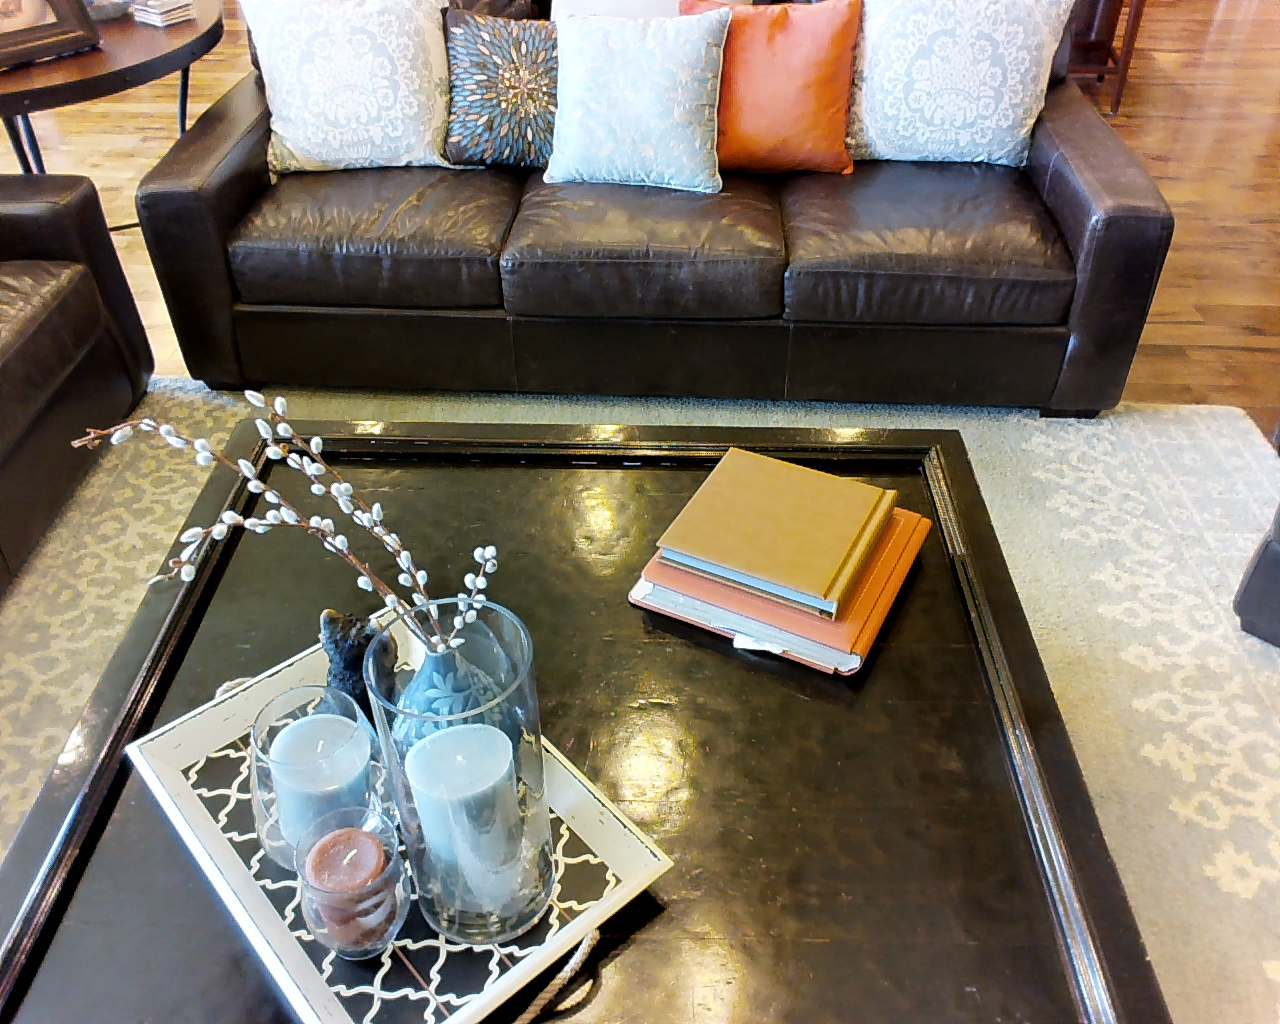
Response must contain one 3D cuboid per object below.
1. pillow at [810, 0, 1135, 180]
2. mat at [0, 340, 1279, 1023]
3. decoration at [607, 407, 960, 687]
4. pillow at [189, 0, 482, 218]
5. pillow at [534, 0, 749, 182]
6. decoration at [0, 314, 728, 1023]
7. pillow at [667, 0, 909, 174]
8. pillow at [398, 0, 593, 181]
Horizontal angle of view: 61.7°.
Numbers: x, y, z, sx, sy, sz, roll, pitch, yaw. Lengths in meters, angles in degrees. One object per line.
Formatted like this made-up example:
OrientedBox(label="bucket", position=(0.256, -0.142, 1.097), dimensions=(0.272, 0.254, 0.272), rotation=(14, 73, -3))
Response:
OrientedBox(label="pillow", position=(0.820, -1.210, 2.720), dimensions=(0.630, 0.520, 0.340), rotation=(8, 39, -4))
OrientedBox(label="mat", position=(0.010, 0.400, 1.820), dimensions=(3.150, 0.070, 2.450), rotation=(1, 40, 2))
OrientedBox(label="decoration", position=(0.210, 0.030, 1.540), dimensions=(0.390, 0.100, 0.350), rotation=(19, 43, 22))
OrientedBox(label="pillow", position=(-0.740, -1.180, 2.740), dimensions=(0.580, 0.320, 0.570), rotation=(31, 35, -33))
OrientedBox(label="pillow", position=(0.010, -1.070, 2.660), dimensions=(0.480, 0.340, 0.410), rotation=(1, 40, 2))
OrientedBox(label="decoration", position=(-0.280, 0.170, 1.100), dimensions=(0.410, 0.440, 0.600), rotation=(-30, 48, -31))
OrientedBox(label="pillow", position=(0.350, -1.140, 2.740), dimensions=(0.500, 0.380, 0.410), rotation=(-5, 40, -6))
OrientedBox(label="pillow", position=(-0.340, -1.060, 2.680), dimensions=(0.410, 0.330, 0.350), rotation=(1, 40, 2))
